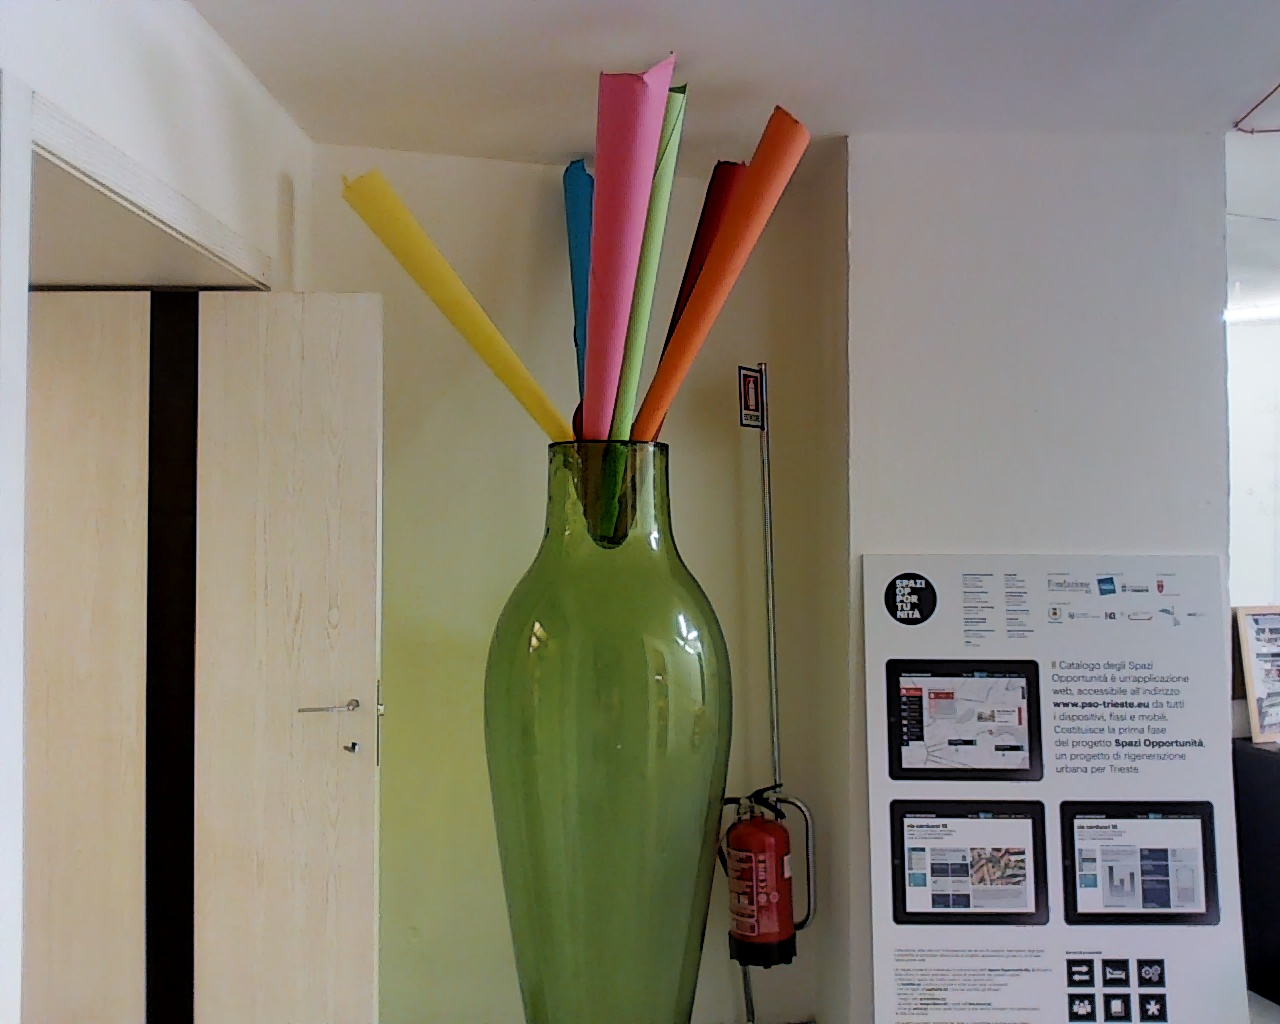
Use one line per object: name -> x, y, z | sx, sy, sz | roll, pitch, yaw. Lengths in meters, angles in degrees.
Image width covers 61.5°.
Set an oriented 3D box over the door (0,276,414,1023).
door -> -1.060, 0.490, 2.450 | 1.060, 2.021, 0.130 | 0, -1, 2
